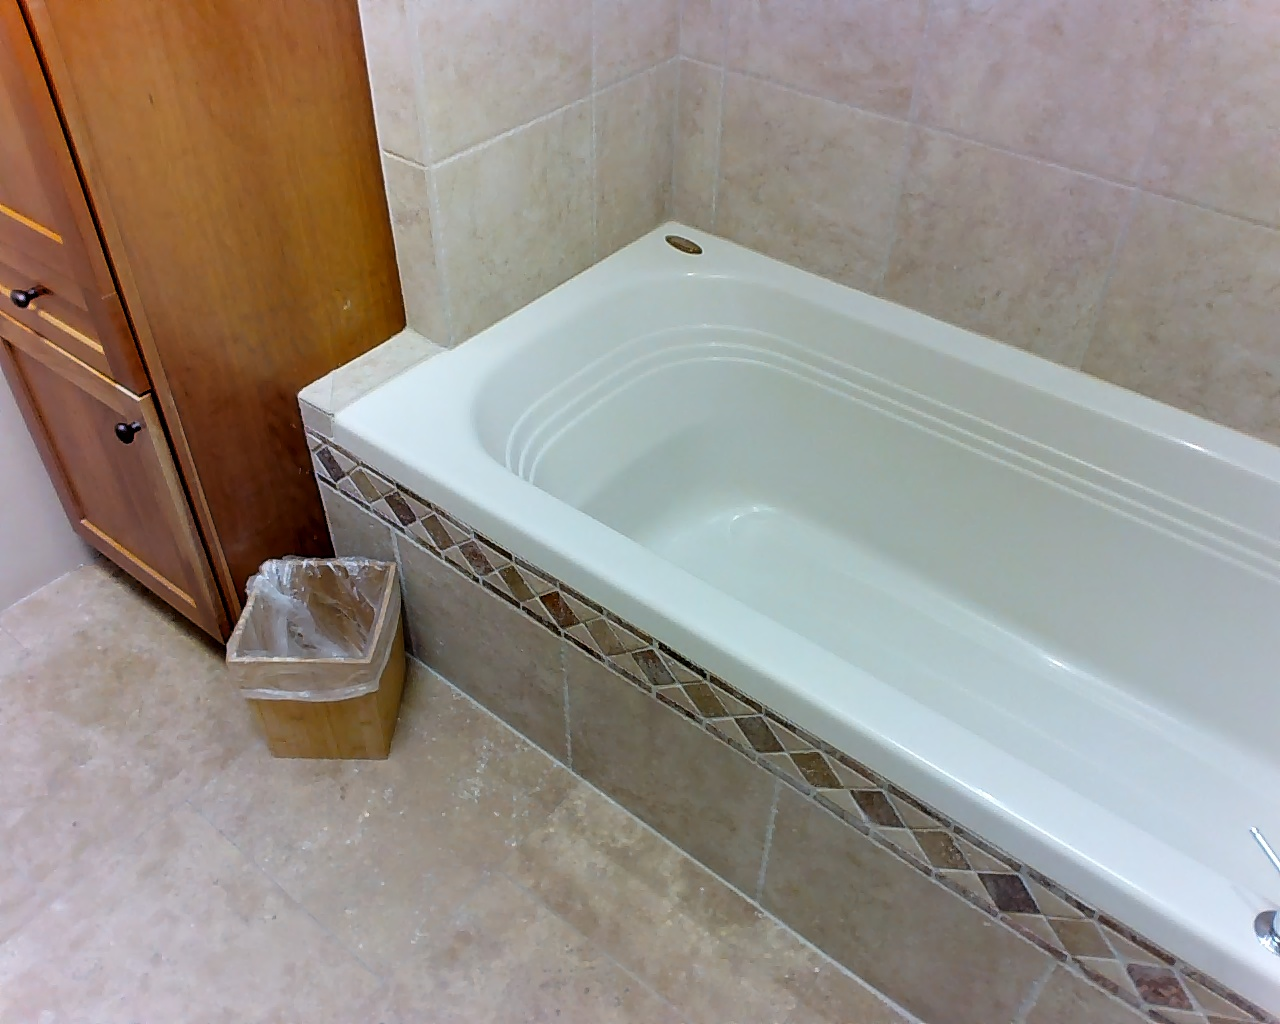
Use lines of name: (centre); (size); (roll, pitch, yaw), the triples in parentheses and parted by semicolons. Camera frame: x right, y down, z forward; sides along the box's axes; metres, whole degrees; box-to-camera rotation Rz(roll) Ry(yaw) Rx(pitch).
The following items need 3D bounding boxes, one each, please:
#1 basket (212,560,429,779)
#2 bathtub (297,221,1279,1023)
basket: (-0.490, 0.250, 1.700); (0.250, 0.260, 0.230); (0, 42, -2)
bathtub: (0.400, 0.180, 1.640); (1.710, 0.480, 0.820); (28, 48, 27)
